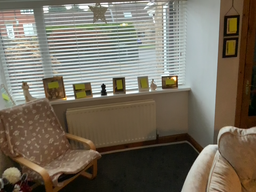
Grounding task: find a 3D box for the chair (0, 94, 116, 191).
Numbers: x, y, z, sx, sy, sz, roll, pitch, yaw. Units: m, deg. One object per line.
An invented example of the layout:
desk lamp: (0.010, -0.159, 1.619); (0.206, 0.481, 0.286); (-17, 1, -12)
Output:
chair: (-0.790, 0.580, 2.290); (1.020, 0.920, 0.750); (9, 20, 36)
